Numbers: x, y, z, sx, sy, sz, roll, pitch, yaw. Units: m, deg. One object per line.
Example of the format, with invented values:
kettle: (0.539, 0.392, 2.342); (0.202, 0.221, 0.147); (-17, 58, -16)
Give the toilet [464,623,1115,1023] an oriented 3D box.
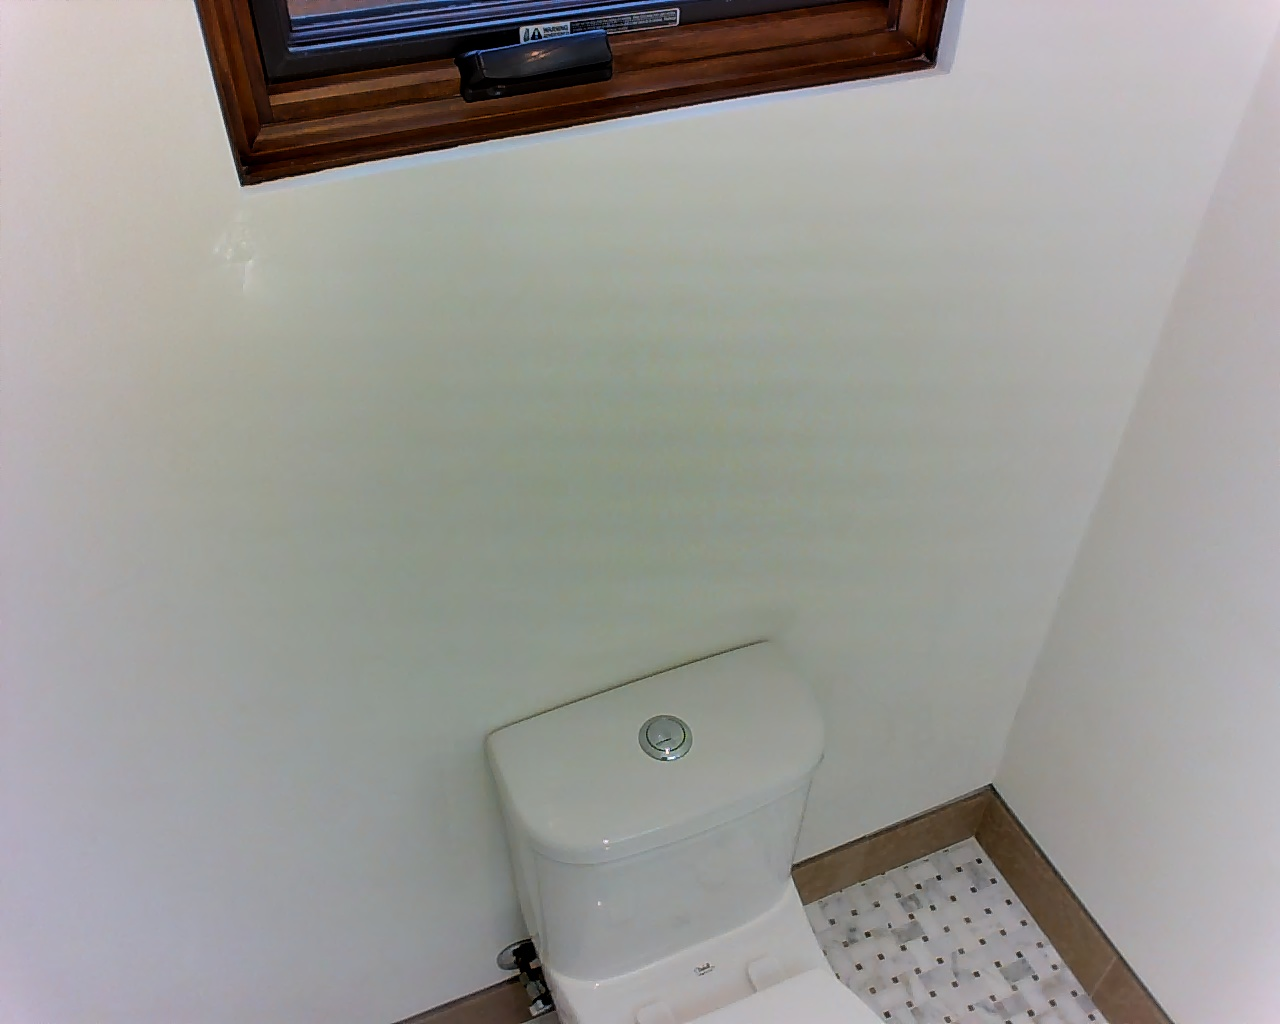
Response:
toilet: (0.150, 0.680, 1.220); (0.440, 0.730, 0.710); (-16, 44, -17)
